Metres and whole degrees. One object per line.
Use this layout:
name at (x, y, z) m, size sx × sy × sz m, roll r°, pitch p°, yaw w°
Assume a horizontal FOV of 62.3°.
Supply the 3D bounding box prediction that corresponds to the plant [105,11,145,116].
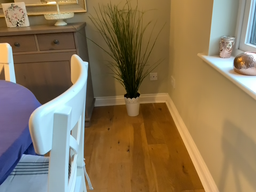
plant at (-0.010, -0.300, 2.060) m, size 0.310 × 0.950 × 0.300 m, roll -3°, pitch 24°, yaw 1°

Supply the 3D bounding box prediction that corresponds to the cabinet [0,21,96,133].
cabinet at (-1.020, -0.170, 1.980) m, size 1.290 × 0.900 × 0.450 m, roll -3°, pitch 24°, yaw 0°

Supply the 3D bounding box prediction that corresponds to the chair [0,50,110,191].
chair at (-0.320, 0.360, 0.720) m, size 0.470 × 0.910 × 0.430 m, roll -5°, pitch 24°, yaw -2°
